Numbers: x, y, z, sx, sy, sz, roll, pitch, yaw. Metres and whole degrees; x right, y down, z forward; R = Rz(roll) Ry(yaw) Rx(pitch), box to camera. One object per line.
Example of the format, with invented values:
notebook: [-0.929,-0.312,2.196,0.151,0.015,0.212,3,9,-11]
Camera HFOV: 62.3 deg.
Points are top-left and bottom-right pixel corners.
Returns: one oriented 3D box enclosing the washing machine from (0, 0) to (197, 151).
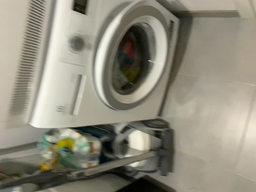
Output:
washing machine: [-0.250,-0.230,1.180,0.860,0.850,0.620,18,99,35]
